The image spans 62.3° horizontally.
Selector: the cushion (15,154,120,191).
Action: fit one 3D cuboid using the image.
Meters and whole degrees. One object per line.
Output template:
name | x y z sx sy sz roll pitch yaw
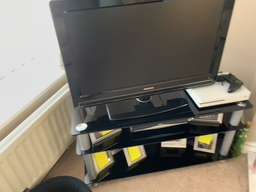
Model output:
cushion | -0.370 0.630 1.140 0.490 0.190 0.490 13 39 18
